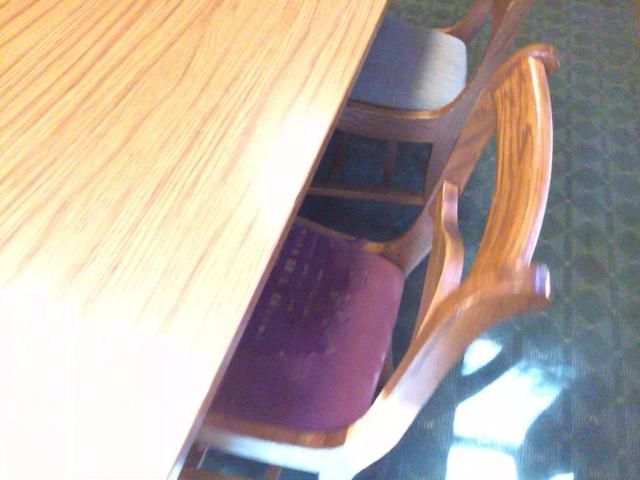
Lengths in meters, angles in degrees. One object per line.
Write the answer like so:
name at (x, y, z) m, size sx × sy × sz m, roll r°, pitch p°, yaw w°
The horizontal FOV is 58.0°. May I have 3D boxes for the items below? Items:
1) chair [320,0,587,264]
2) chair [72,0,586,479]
chair at (0.290, -0.420, 1.350) m, size 0.450 × 0.790 × 0.470 m, roll 15°, pitch 51°, yaw 12°
chair at (0.050, 0.130, 0.890) m, size 0.400 × 0.810 × 0.450 m, roll 15°, pitch 51°, yaw 12°
